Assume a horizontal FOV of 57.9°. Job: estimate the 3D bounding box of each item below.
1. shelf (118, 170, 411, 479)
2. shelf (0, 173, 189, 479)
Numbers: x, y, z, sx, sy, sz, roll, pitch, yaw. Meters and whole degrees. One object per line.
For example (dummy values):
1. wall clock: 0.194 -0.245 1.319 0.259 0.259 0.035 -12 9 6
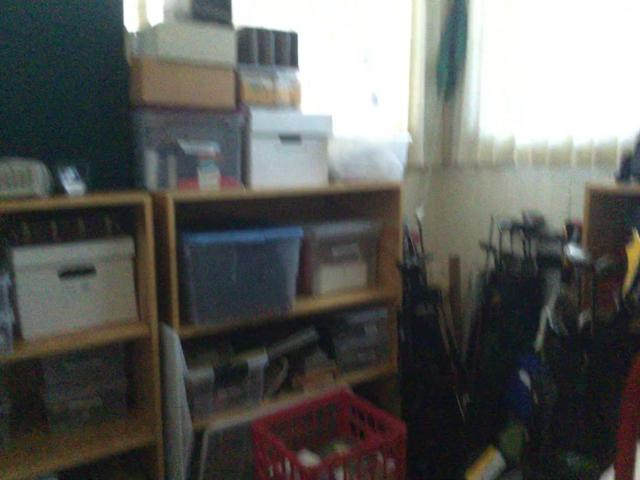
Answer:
1. shelf: -0.190 0.420 2.180 0.890 1.300 0.550 -7 12 -33
2. shelf: -0.960 0.500 1.630 0.950 1.300 0.700 -7 12 -33
